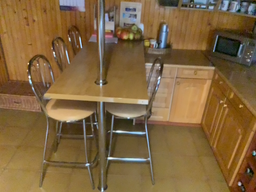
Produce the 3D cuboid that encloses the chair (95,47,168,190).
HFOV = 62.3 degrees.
[{"bbox_3d":[-0.010,0.230,1.750,0.450,1.150,0.360,4,30,-1],"label":"chair"}]
